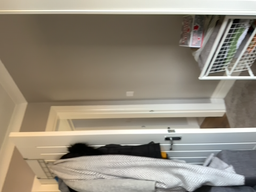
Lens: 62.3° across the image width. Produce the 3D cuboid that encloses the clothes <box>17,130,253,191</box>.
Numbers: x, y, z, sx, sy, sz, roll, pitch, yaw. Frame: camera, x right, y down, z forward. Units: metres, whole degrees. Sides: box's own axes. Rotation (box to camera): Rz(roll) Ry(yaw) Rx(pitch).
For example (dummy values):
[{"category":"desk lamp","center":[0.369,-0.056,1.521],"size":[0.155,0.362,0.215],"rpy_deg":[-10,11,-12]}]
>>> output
[{"category":"clothes","center":[0.040,0.620,1.620],"size":[0.850,1.320,0.320],"rpy_deg":[91,177,-53]}]

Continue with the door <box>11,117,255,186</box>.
[{"category":"door","center":[0.220,0.500,1.790],"size":[0.820,2.010,0.140],"rpy_deg":[91,178,-46]}]
